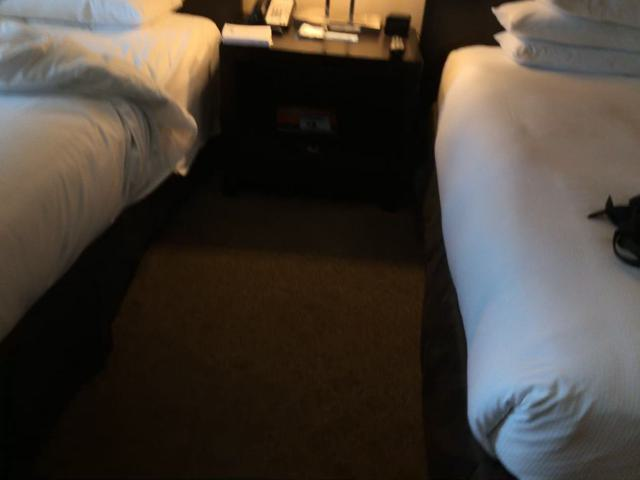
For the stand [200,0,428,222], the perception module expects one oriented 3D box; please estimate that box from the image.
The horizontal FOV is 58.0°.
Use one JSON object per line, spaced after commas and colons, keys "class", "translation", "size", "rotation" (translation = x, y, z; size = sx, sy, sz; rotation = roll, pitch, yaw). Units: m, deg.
{"class": "stand", "translation": [-0.020, -0.560, 2.460], "size": [0.810, 0.720, 0.540], "rotation": [6, 32, 3]}
